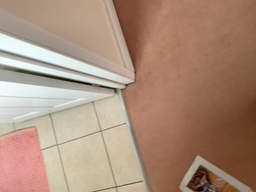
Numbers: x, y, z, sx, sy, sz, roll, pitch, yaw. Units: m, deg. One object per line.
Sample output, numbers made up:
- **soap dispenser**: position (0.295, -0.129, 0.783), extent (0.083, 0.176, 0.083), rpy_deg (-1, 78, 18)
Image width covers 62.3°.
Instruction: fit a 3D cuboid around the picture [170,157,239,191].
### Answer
- **picture**: position (0.400, 0.500, 1.080), extent (0.280, 0.010, 0.240), rpy_deg (42, 100, 16)
